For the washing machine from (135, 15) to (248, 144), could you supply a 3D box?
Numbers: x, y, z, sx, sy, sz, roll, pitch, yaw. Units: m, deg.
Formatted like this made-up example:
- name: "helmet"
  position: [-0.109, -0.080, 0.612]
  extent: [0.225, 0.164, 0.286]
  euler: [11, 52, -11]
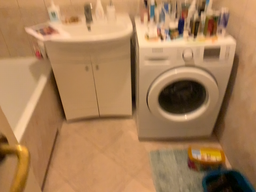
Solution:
- name: "washing machine"
  position: [0.380, -0.140, 1.730]
  extent: [0.630, 0.820, 0.660]
  euler: [-1, 37, 0]
